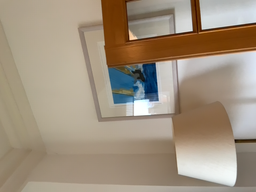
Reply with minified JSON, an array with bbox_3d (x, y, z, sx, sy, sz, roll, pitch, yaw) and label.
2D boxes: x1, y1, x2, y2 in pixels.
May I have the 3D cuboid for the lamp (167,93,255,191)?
[{"bbox_3d":[1.030,0.260,1.170,0.410,1.580,0.460,-69,-27,-64],"label":"lamp"}]

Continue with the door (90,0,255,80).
[{"bbox_3d":[0.810,-0.600,1.050,0.140,2.060,0.880,-6,-87,-79],"label":"door"}]
